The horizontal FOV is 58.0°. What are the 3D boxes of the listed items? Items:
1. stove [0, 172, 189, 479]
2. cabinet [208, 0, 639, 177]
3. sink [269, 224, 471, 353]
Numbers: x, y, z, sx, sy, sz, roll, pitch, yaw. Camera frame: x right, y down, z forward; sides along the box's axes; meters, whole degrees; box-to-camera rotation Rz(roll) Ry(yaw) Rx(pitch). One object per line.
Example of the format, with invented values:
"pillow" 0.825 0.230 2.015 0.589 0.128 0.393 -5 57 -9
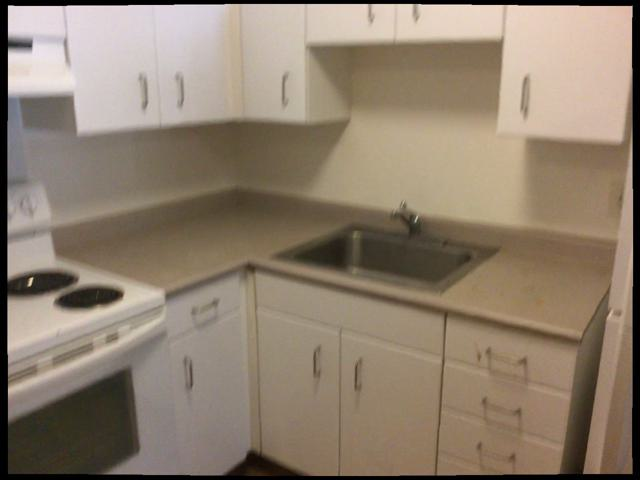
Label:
"stove" -0.948 0.511 1.630 0.799 1.192 0.740 13 24 31
"cabinet" 0.649 -0.822 1.680 2.317 1.132 0.400 13 22 32
"sink" 0.180 0.140 2.060 0.559 0.200 0.450 13 22 32
